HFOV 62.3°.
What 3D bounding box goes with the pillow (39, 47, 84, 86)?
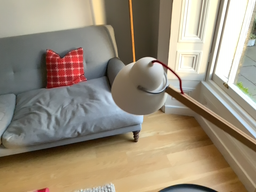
[{"bbox_3d":[-0.610,-0.270,1.990,0.340,0.310,0.170,-7,5,-7],"label":"pillow"}]
